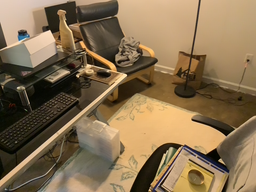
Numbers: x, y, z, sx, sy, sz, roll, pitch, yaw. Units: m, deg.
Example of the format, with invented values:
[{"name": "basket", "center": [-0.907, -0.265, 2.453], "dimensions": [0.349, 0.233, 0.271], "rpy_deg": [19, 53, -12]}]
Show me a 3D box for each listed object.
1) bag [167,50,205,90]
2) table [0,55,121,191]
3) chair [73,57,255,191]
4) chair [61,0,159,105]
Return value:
[{"name": "bag", "center": [0.760, -0.350, 2.820], "dimensions": [0.370, 0.360, 0.280], "rpy_deg": [18, 39, 22]}, {"name": "table", "center": [-0.590, 0.370, 1.390], "dimensions": [0.580, 0.770, 1.190], "rpy_deg": [18, 39, 21]}, {"name": "chair", "center": [0.230, 0.460, 1.050], "dimensions": [0.630, 1.040, 0.560], "rpy_deg": [20, 40, 24]}, {"name": "chair", "center": [-0.210, -0.590, 2.600], "dimensions": [0.700, 0.940, 0.830], "rpy_deg": [-30, 46, -35]}]
